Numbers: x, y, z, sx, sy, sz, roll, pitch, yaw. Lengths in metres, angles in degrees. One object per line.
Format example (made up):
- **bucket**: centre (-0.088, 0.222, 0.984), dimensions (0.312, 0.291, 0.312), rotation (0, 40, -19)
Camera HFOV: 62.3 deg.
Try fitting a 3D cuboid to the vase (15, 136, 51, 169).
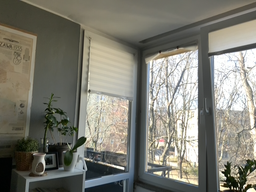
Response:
- **vase**: centre (-0.660, 0.380, 1.470), dimensions (0.160, 0.190, 0.190), rotation (8, -9, -42)
